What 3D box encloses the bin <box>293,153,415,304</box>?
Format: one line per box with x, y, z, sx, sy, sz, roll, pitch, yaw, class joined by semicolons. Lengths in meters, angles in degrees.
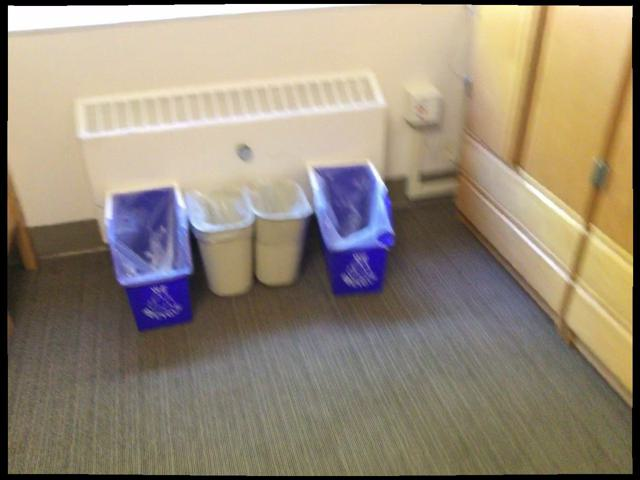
0.110;-0.060;2.230;0.329;0.340;0.480;-8;35;-11;bin

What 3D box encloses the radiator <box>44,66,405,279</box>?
-0.319;-0.271;2.260;1.228;0.651;0.260;-8;35;-11;radiator

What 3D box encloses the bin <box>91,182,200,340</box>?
-0.609;0.060;2.060;0.289;0.340;0.430;-8;35;-11;bin

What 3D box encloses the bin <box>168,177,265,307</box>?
-0.389;0.000;2.160;0.299;0.330;0.320;-8;35;-11;bin

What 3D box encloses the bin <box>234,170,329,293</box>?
-0.150;-0.040;2.220;0.299;0.320;0.310;-8;35;-11;bin
